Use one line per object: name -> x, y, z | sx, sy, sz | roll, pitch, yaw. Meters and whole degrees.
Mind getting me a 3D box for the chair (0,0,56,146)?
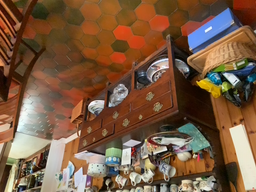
chair -> -0.970, -0.150, 1.570 | 0.460, 0.870, 0.500 | -19, 143, 29
